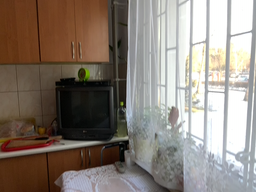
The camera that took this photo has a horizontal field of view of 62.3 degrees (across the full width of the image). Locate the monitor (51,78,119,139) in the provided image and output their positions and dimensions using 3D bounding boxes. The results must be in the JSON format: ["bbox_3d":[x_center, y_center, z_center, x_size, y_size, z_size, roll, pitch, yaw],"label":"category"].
[{"bbox_3d":[-0.360,0.090,1.970,0.510,0.490,0.430,0,8,4],"label":"monitor"}]
